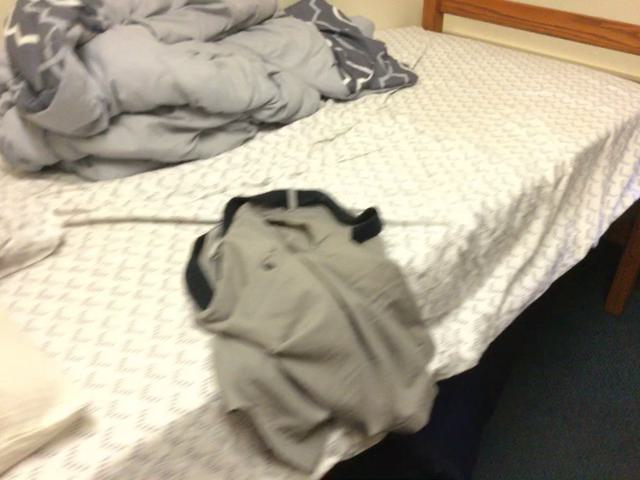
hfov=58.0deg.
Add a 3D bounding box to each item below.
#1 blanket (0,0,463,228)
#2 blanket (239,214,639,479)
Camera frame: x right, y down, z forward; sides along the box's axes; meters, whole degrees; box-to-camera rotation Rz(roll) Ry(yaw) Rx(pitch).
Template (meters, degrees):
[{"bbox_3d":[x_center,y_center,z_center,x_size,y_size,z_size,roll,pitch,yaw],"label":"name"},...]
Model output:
[{"bbox_3d":[-0.200,-0.440,1.310,1.070,0.300,0.470,-27,41,-34],"label":"blanket"},{"bbox_3d":[0.360,0.300,1.630,0.990,0.210,0.590,-27,41,-34],"label":"blanket"}]
